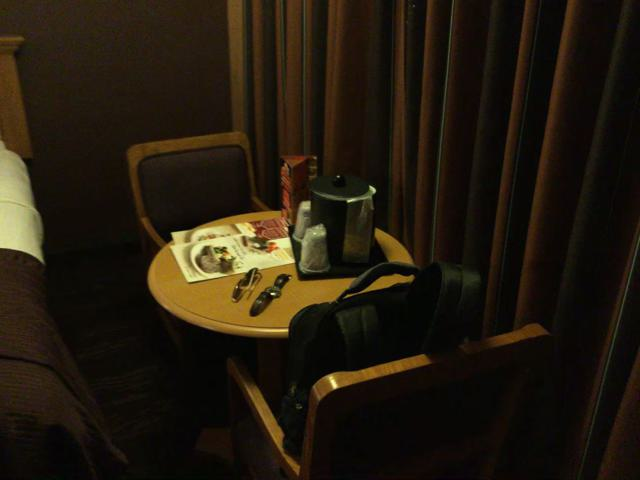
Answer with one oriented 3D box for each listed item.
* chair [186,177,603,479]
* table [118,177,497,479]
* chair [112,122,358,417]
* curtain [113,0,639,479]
[{"bbox_3d":[0.090,0.410,1.450,0.610,0.920,0.730,-9,25,-27],"label":"chair"},{"bbox_3d":[-0.100,0.360,1.710,0.740,0.850,0.790,-9,25,-27],"label":"table"},{"bbox_3d":[-0.350,0.050,2.290,0.710,0.880,0.650,-10,25,-27],"label":"chair"},{"bbox_3d":[0.020,-0.270,1.600,0.700,2.070,2.140,-9,25,-27],"label":"curtain"}]
